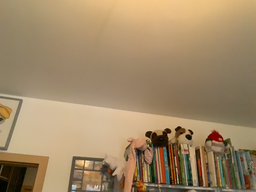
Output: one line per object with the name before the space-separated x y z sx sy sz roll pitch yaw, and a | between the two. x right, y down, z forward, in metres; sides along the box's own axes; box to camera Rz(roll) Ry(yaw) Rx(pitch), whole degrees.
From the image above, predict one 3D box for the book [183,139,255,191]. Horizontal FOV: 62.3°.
book | 0.960 0.620 1.810 0.900 0.340 0.260 9 -28 -10
